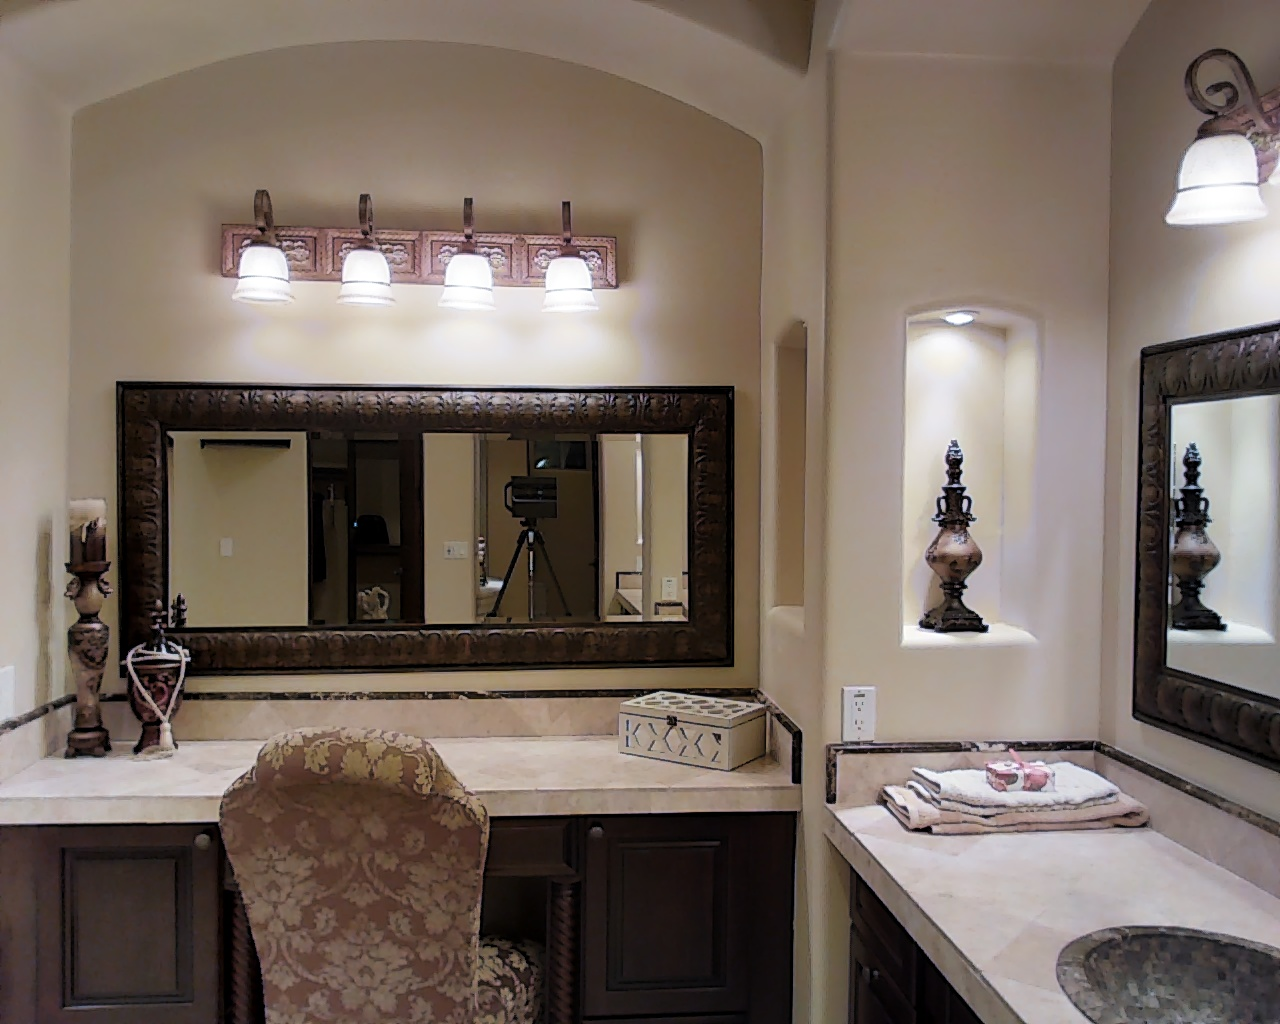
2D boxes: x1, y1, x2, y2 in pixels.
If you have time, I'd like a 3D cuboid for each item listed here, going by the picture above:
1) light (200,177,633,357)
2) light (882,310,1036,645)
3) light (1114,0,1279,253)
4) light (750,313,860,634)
[{"bbox_3d":[-0.530,-0.590,2.620,1.010,0.370,0.170,1,2,-5],"label":"light"},{"bbox_3d":[0.670,-0.070,2.260,0.250,0.680,0.160,1,2,-5],"label":"light"},{"bbox_3d":[0.960,-0.580,1.380,0.190,0.290,0.940,1,2,-5],"label":"light"},{"bbox_3d":[0.390,-0.090,2.560,0.190,0.730,0.240,1,2,-5],"label":"light"}]
